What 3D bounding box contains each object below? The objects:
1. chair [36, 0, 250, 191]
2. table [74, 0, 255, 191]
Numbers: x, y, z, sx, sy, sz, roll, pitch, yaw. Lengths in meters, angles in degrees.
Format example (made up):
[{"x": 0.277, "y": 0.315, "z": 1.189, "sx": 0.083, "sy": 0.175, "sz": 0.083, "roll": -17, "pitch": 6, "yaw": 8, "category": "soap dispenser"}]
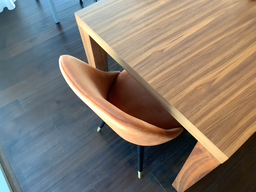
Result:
[{"x": 0.050, "y": 0.050, "z": 1.120, "sx": 0.560, "sy": 0.870, "sz": 0.510, "roll": -35, "pitch": 64, "yaw": -19, "category": "chair"}, {"x": 0.730, "y": -0.370, "z": 1.430, "sx": 1.810, "sy": 0.780, "sz": 0.870, "roll": -34, "pitch": 64, "yaw": -19, "category": "table"}]
